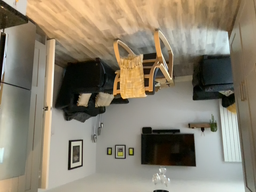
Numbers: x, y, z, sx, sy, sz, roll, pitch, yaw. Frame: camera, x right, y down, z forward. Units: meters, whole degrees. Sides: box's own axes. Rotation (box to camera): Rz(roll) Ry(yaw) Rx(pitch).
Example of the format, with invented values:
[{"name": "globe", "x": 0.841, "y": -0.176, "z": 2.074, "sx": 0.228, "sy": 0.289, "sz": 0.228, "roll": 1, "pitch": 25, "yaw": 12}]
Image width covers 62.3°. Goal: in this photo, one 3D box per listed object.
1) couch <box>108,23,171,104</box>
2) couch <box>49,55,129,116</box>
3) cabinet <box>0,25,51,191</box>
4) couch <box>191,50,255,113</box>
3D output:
[{"name": "couch", "x": 0.200, "y": -0.400, "z": 3.120, "sx": 0.680, "sy": 0.890, "sz": 0.820, "roll": -4, "pitch": 169, "yaw": 20}, {"name": "couch", "x": -0.720, "y": -0.100, "z": 4.580, "sx": 1.040, "sy": 0.920, "sz": 1.600, "roll": -4, "pitch": 169, "yaw": 17}, {"name": "cabinet", "x": -1.290, "y": 0.200, "z": 2.710, "sx": 0.290, "sy": 2.160, "sz": 0.370, "roll": -4, "pitch": 169, "yaw": 17}, {"name": "couch", "x": 1.830, "y": -0.210, "z": 4.100, "sx": 0.910, "sy": 0.940, "sz": 1.080, "roll": -1, "pitch": 170, "yaw": 5}]
